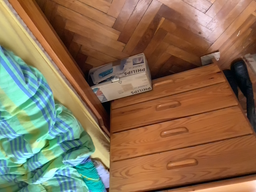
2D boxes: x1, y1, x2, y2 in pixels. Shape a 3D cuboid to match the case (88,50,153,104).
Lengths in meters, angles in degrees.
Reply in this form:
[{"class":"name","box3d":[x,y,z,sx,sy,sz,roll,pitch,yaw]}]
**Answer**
[{"class":"case","box3d":[-0.040,-0.100,1.120,0.300,0.180,0.130,-13,136,10]}]
